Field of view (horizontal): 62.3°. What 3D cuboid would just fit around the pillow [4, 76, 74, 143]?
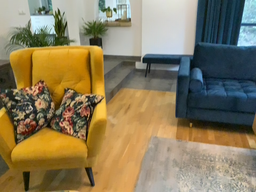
[{"bbox_3d":[-0.760,0.090,1.840,0.420,0.390,0.340,-17,28,-34],"label":"pillow"}]

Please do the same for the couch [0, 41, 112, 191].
[{"bbox_3d":[-0.610,0.130,1.920,0.860,1.070,0.970,-3,23,-4],"label":"couch"}]

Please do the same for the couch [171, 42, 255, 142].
[{"bbox_3d":[1.660,-0.090,2.600,2.090,0.900,1.050,5,24,14],"label":"couch"}]

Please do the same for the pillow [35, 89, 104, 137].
[{"bbox_3d":[-0.490,0.130,1.820,0.460,0.220,0.300,10,25,24],"label":"pillow"}]
